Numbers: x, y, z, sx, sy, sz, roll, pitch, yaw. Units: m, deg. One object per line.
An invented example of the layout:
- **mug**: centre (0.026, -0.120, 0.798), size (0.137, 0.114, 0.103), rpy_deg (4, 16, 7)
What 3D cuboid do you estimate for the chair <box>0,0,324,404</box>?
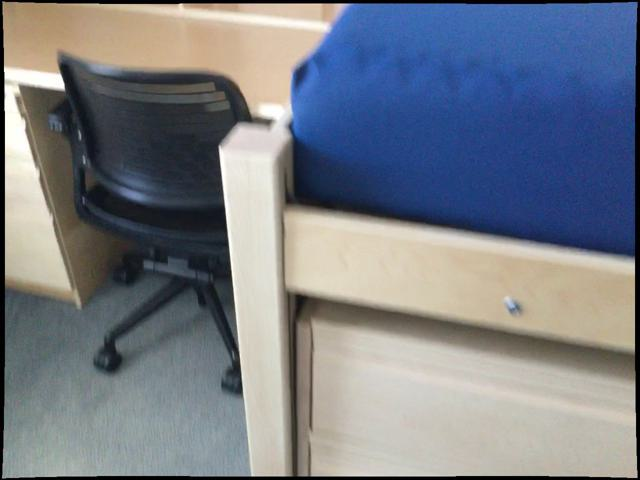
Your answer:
- **chair**: centre (-0.359, -0.140, 1.650), size (0.599, 0.861, 0.690), rpy_deg (8, 36, 11)
